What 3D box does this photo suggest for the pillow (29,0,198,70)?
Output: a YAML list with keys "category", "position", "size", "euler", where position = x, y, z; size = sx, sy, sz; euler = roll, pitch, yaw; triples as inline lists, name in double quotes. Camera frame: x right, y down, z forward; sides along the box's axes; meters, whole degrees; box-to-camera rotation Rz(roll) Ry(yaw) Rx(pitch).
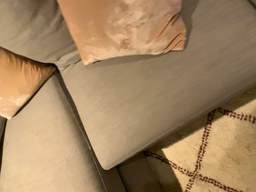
- category: "pillow"
  position: [-0.040, -0.310, 0.650]
  size: [0.420, 0.300, 0.430]
  euler: [4, 93, 34]
